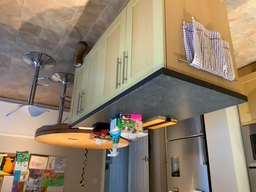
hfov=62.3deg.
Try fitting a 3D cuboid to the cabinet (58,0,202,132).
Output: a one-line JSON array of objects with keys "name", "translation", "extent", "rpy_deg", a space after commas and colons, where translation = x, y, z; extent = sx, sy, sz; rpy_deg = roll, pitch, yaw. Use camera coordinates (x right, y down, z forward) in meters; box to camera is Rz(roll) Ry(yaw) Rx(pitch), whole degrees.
[{"name": "cabinet", "translation": [-0.160, -0.260, 1.840], "extent": [0.300, 0.870, 1.600], "rpy_deg": [14, 156, -31]}]

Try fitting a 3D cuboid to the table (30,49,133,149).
[{"name": "table", "translation": [-0.620, 0.150, 2.870], "extent": [0.980, 0.940, 0.970], "rpy_deg": [14, 156, -31]}]
